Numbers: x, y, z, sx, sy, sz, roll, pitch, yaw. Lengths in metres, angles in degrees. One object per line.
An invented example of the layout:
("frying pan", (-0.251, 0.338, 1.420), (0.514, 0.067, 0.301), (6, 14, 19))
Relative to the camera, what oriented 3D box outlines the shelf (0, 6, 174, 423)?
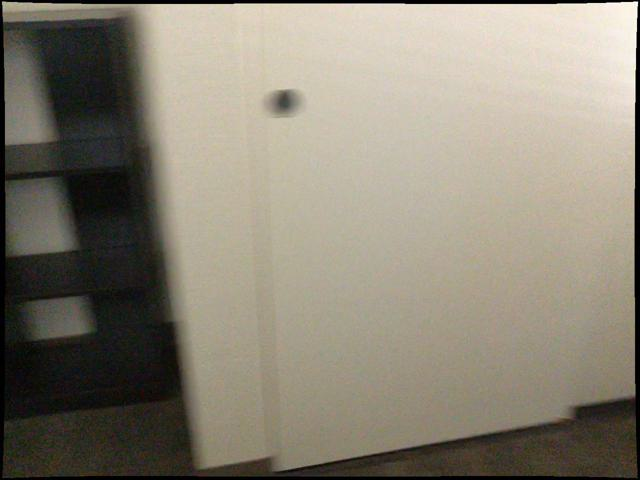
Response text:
("shelf", (-1.099, -0.020, 1.750), (1.089, 1.191, 0.380), (-6, 28, -7))
